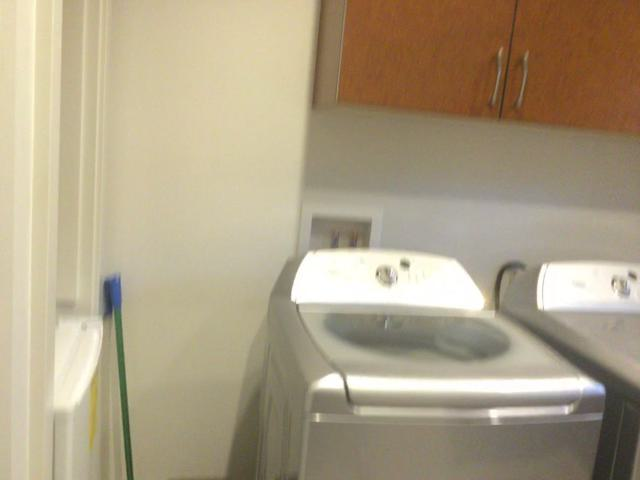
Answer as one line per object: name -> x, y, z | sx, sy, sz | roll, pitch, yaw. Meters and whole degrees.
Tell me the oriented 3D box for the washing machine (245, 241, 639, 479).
washing machine -> 0.250, 0.610, 1.540 | 0.820, 1.100, 0.700 | 2, 7, -12
